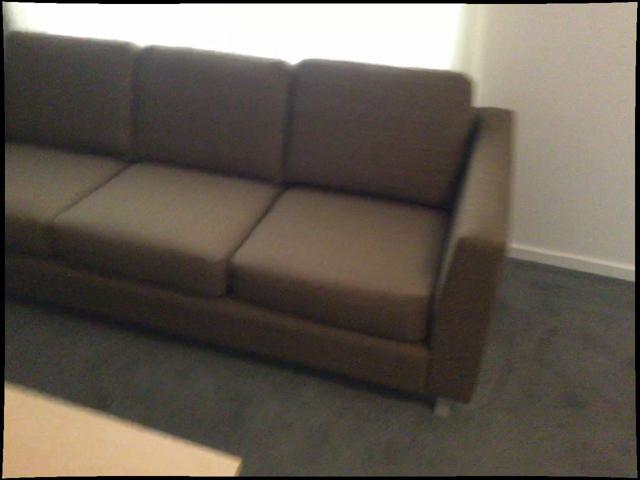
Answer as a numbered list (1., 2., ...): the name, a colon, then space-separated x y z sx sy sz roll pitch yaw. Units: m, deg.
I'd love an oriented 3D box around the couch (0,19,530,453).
1. couch: -0.429 -0.180 1.950 2.015 0.832 0.890 10 31 16
